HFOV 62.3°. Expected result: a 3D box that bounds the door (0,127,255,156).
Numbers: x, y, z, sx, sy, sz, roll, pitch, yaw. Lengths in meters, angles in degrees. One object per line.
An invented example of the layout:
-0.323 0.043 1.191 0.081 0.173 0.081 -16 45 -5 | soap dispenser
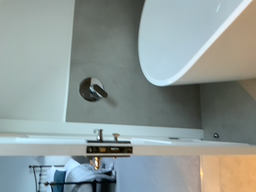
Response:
-0.250 0.230 1.050 0.940 1.900 0.070 153 120 -64 | door
